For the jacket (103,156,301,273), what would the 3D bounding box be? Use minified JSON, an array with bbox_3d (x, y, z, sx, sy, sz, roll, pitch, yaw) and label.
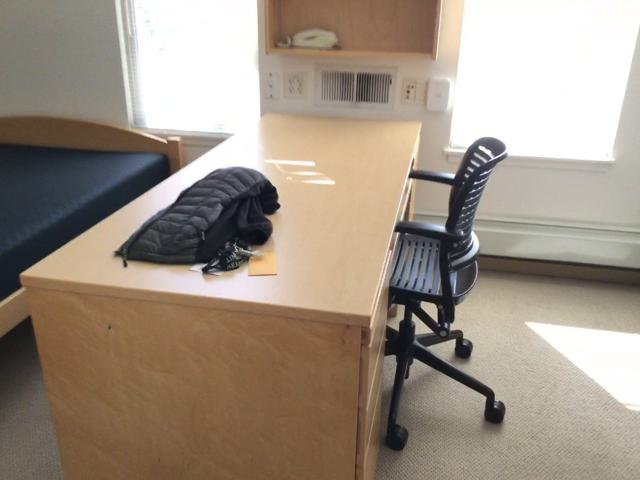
[{"bbox_3d":[-0.270,-0.090,1.490,0.320,0.130,0.480,7,22,13],"label":"jacket"}]
